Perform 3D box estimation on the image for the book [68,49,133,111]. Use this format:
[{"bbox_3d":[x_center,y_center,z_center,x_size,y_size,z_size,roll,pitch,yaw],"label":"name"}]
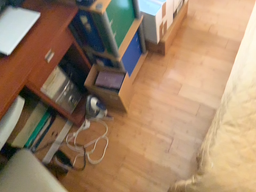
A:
[{"bbox_3d":[-0.170,-0.100,1.440,0.330,0.290,0.180,30,74,21],"label":"book"}]
